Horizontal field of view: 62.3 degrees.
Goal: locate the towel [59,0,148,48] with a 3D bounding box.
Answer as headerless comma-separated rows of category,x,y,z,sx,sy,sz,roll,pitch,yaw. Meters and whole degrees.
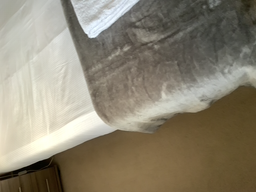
towel,-0.110,-0.490,0.910,0.430,0.090,0.370,-30,72,27
